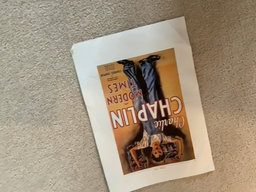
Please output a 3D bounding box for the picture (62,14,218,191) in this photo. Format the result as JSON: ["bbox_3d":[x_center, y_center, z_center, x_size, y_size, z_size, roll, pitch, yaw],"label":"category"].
[{"bbox_3d":[0.030,0.030,0.390,0.220,0.010,0.300,-14,99,0],"label":"picture"}]
